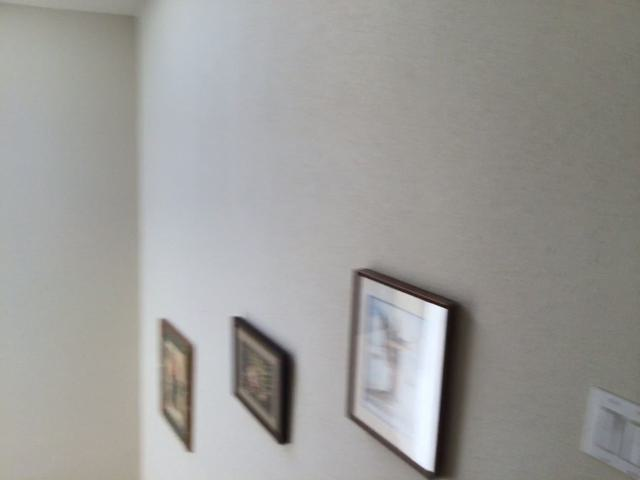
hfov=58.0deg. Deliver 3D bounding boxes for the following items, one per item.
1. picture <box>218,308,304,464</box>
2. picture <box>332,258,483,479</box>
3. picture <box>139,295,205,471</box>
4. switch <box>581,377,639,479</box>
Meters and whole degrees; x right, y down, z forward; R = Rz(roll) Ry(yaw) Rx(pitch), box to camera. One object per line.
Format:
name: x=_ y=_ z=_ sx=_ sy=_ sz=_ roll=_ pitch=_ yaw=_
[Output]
picture: x=-0.210 y=0.460 z=1.910 sx=0.060 sy=0.340 sz=0.460 roll=-3 pitch=13 yaw=-33
picture: x=0.170 y=0.290 z=1.280 sx=0.050 sy=0.420 sz=0.380 roll=-3 pitch=13 yaw=-33
picture: x=-0.710 y=0.630 z=2.700 sx=0.050 sy=0.550 sz=0.740 roll=-3 pitch=13 yaw=-33
switch: x=0.450 y=0.280 z=0.840 sx=0.020 sy=0.120 sz=0.120 roll=-3 pitch=13 yaw=-33
